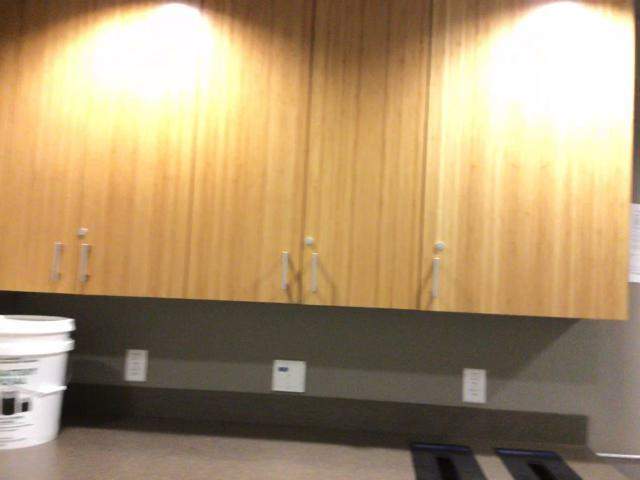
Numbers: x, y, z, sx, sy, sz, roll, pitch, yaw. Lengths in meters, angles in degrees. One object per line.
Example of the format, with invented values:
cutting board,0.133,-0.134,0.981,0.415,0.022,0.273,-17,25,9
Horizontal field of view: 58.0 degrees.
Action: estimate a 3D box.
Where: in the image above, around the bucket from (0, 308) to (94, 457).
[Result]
bucket,-0.950,0.420,1.790,0.330,0.380,0.280,5,-6,5
